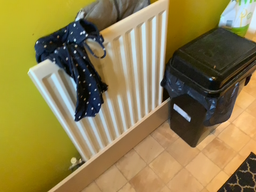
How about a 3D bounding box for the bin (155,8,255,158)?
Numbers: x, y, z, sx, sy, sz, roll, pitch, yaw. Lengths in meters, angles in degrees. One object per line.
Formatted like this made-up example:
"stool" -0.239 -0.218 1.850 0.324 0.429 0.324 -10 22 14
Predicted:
"bin" 0.430 -0.040 1.190 0.410 0.660 0.360 -32 55 -18
